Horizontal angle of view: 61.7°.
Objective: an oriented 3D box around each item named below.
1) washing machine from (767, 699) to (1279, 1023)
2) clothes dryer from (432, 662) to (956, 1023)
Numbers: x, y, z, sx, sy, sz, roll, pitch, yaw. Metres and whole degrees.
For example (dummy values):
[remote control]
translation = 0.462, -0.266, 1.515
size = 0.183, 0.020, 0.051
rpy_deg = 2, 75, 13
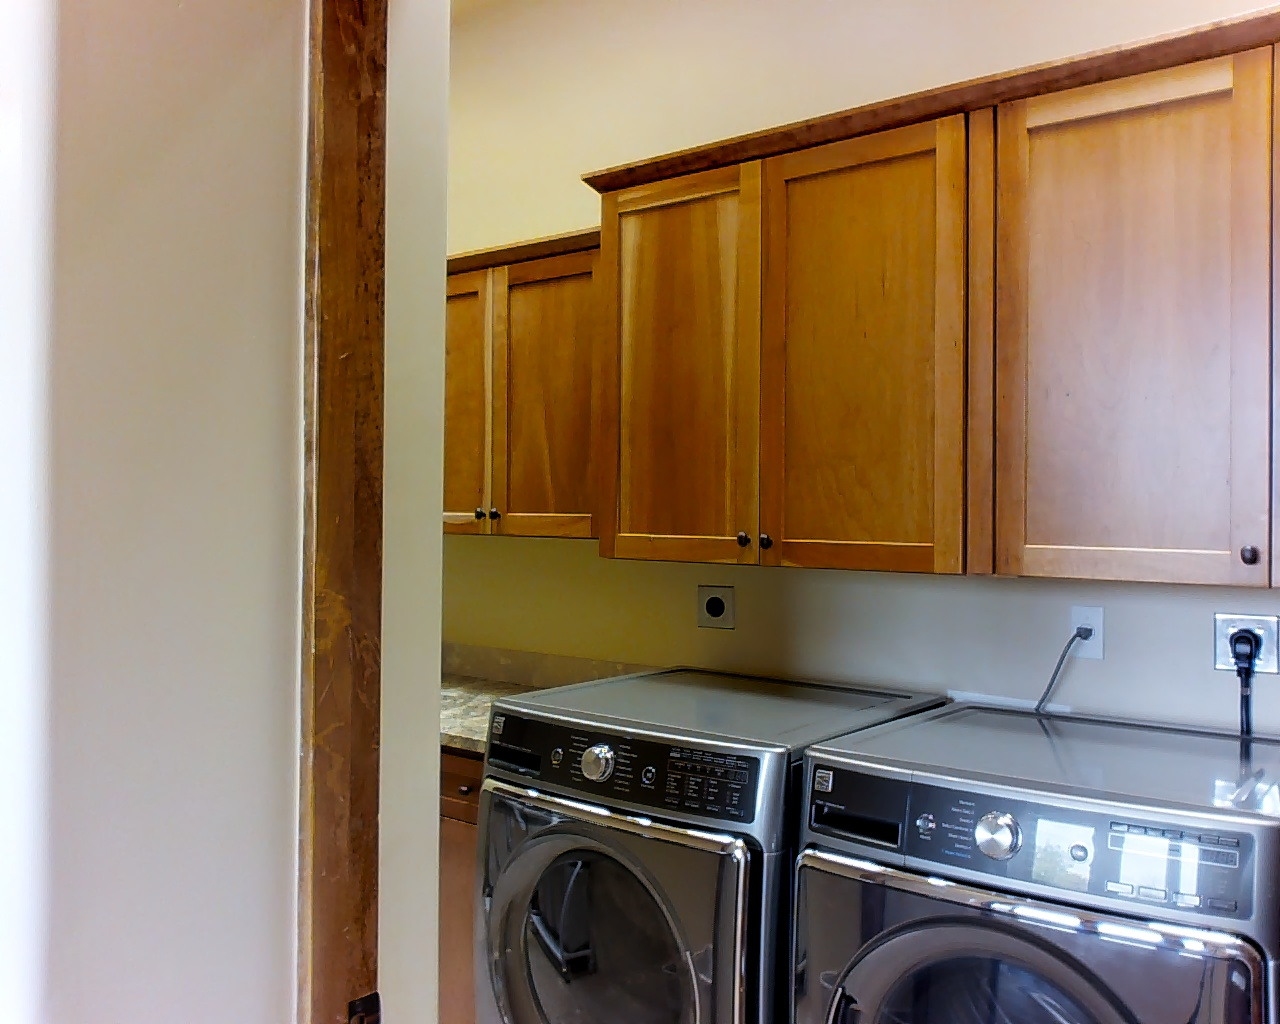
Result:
[washing machine]
translation = 0.770, 0.930, 1.860
size = 0.760, 1.020, 0.860
rpy_deg = 0, -1, 37
[clothes dryer]
translation = 0.140, 0.920, 2.310
size = 0.790, 1.040, 0.840
rpy_deg = 0, -1, 37
